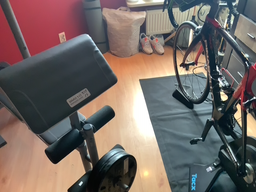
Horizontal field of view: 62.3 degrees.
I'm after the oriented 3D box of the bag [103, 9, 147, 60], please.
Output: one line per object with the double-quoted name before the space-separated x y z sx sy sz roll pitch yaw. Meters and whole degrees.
"bag" -0.040 -0.750 2.580 0.480 0.440 0.380 -6 41 -3
